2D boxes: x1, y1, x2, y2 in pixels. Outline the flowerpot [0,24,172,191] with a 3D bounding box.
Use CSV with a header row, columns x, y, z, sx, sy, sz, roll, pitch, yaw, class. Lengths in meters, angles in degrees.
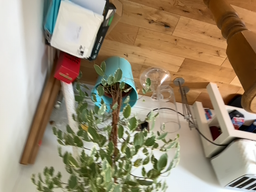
x,y,z,sx,sy,sz,roll,pitch,yaw,class
-0.170,0.230,1.060,0.550,1.290,0.460,12,135,-11,flowerpot
